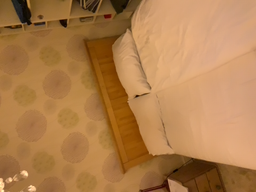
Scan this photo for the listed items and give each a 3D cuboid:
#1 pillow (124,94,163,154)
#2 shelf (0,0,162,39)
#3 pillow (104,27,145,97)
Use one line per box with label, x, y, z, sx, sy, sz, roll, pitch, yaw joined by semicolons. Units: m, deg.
pillow;0.150;0.290;2.220;0.380;0.100;0.570;-20;86;68
shelf;-0.530;-0.960;1.890;1.020;2.010;0.290;-24;82;68
pillow;-0.050;-0.330;2.200;0.350;0.140;0.630;-20;86;68
